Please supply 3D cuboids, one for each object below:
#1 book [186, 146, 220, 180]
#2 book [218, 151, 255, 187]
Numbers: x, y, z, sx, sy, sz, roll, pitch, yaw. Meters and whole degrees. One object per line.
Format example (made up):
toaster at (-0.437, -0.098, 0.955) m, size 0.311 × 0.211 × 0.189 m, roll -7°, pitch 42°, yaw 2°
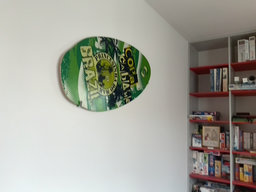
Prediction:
book at (0.970, 0.850, 2.740) m, size 0.360 × 0.330 × 0.260 m, roll -2°, pitch -7°, yaw 35°
book at (1.350, 0.860, 2.550) m, size 0.440 × 0.320 × 0.230 m, roll -2°, pitch -7°, yaw 37°
